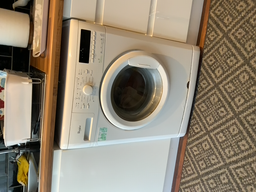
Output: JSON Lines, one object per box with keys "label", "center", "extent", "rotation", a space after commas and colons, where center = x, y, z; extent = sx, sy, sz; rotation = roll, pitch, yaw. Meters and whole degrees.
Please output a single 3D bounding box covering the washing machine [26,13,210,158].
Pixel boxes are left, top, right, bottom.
{"label": "washing machine", "center": [-0.090, -0.080, 1.370], "extent": [0.640, 0.940, 0.590], "rotation": [21, 106, 56]}
